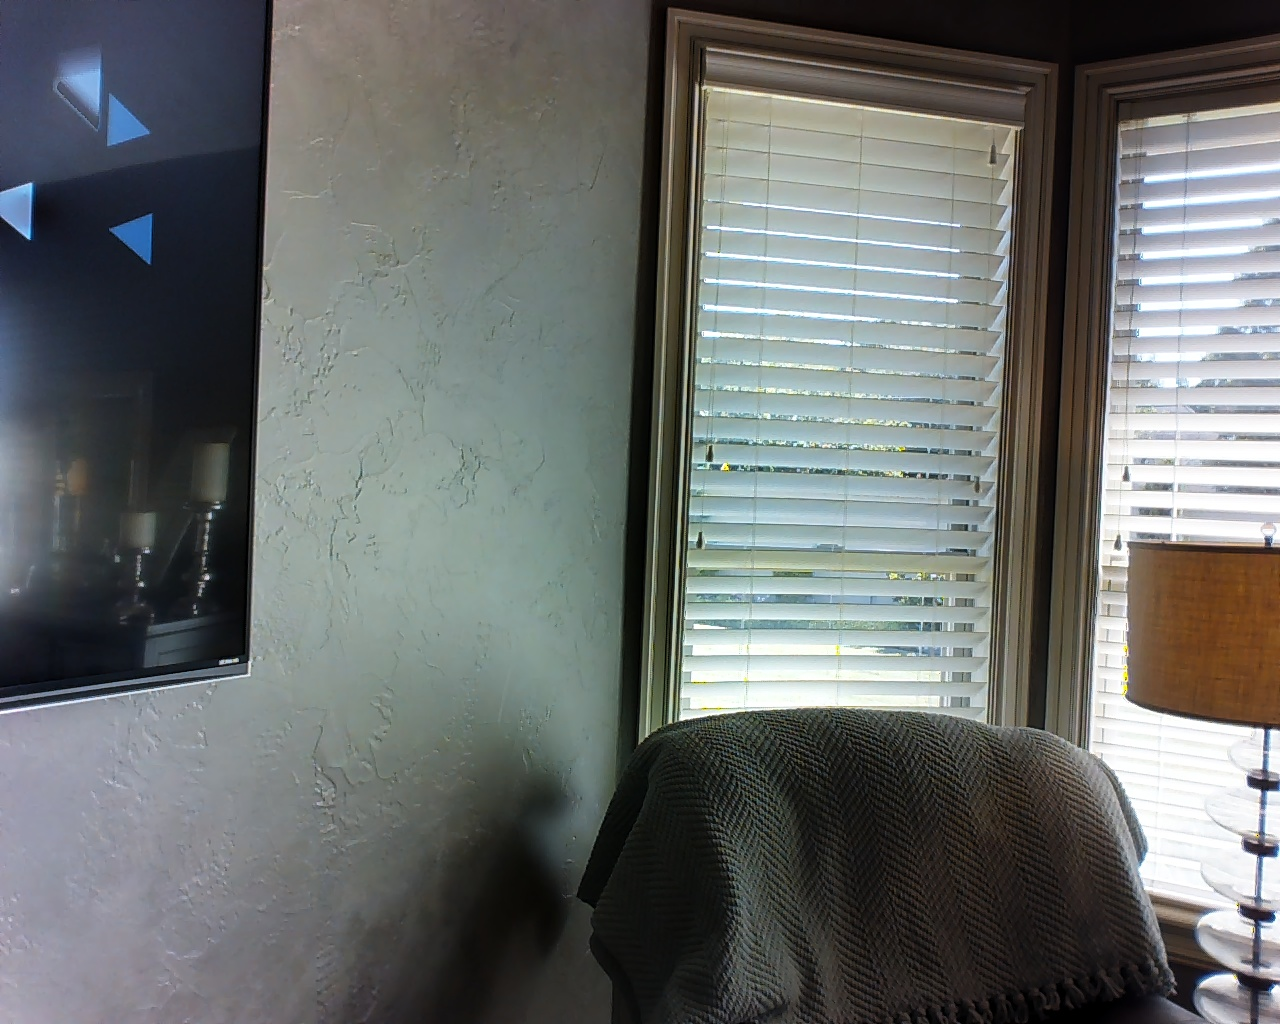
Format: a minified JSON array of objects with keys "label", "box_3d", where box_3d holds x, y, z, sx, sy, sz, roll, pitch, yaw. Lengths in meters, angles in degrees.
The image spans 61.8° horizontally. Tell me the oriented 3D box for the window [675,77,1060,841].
[{"label":"window","box_3d":[0.500,-0.090,2.330,0.760,1.560,0.130,3,1,-13]}]
